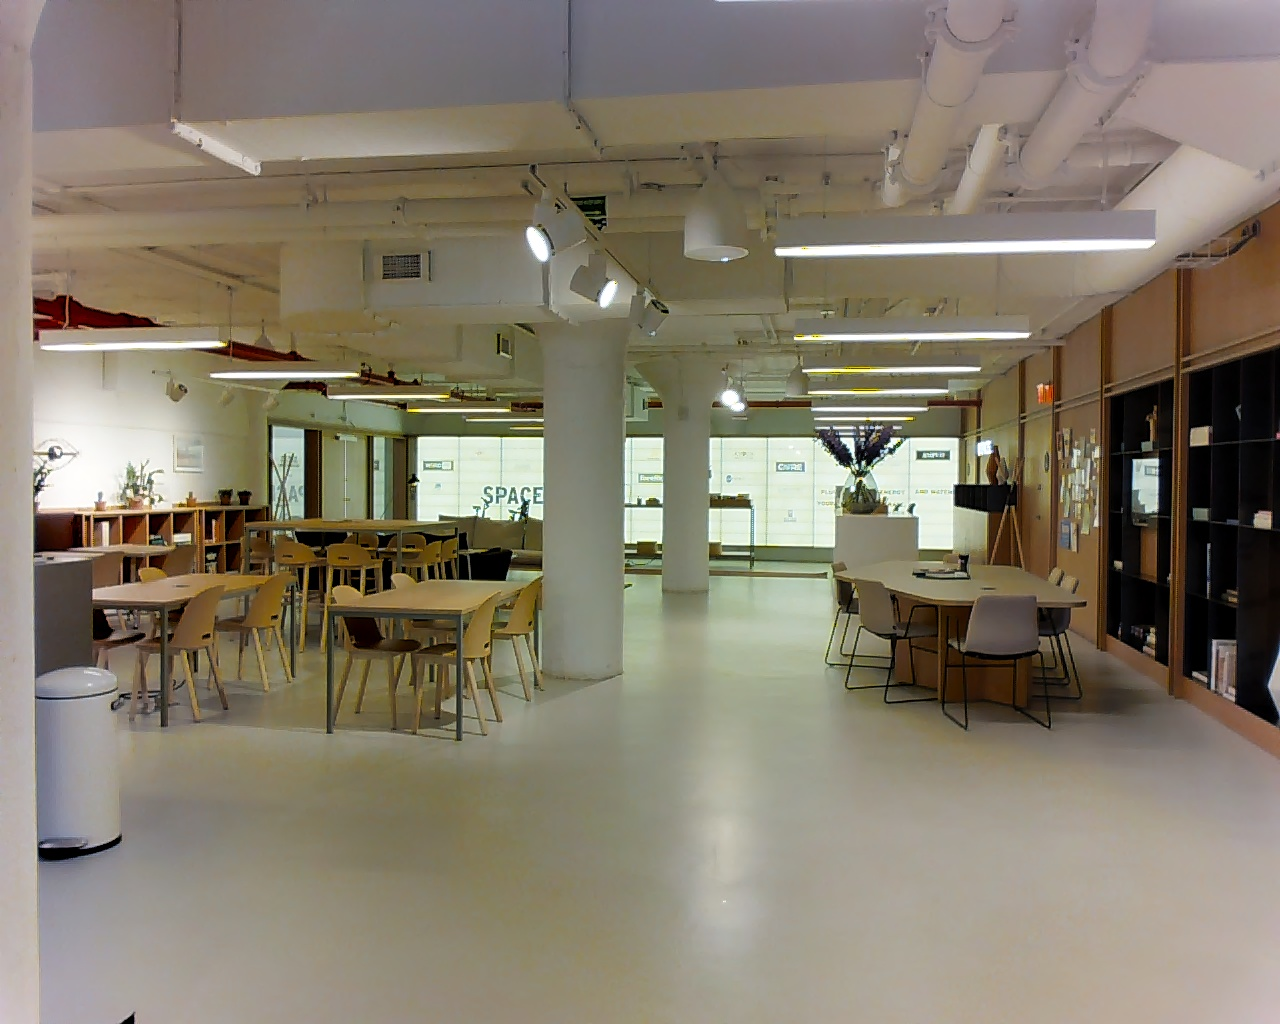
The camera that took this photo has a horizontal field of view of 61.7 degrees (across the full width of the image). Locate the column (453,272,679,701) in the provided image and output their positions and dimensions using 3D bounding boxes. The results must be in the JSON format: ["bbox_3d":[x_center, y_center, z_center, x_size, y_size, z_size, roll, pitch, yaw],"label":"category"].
[{"bbox_3d":[-0.500,-0.190,8.100,1.390,2.911,1.440,1,1,9],"label":"column"}]
